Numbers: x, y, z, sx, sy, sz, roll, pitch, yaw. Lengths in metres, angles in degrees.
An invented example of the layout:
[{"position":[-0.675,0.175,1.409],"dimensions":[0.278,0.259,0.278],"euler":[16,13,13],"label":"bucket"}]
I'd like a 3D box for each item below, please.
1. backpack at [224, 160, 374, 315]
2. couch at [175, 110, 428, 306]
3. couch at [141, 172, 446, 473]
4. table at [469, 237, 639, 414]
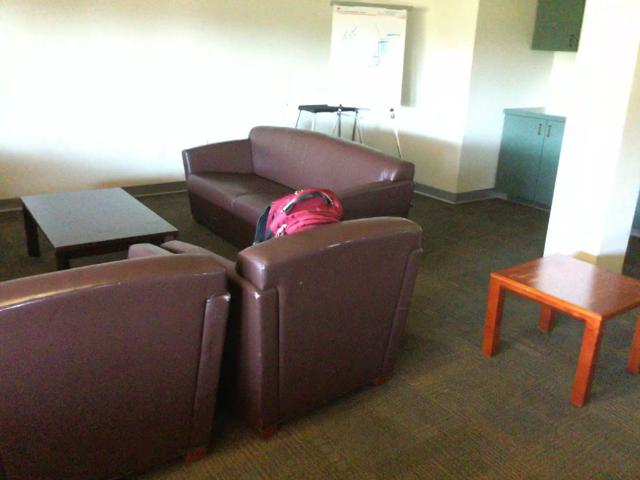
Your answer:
[{"position":[-0.090,-0.020,2.160],"dimensions":[0.350,0.470,0.360],"euler":[0,16,-36],"label":"backpack"},{"position":[-0.180,-0.310,3.580],"dimensions":[0.800,0.780,1.470],"euler":[-15,24,-35],"label":"couch"},{"position":[-0.110,0.220,2.300],"dimensions":[0.840,0.740,0.790],"euler":[-15,25,-36],"label":"couch"},{"position":[1.040,0.320,2.450],"dimensions":[0.490,0.440,0.580],"euler":[-13,23,-32],"label":"table"}]
